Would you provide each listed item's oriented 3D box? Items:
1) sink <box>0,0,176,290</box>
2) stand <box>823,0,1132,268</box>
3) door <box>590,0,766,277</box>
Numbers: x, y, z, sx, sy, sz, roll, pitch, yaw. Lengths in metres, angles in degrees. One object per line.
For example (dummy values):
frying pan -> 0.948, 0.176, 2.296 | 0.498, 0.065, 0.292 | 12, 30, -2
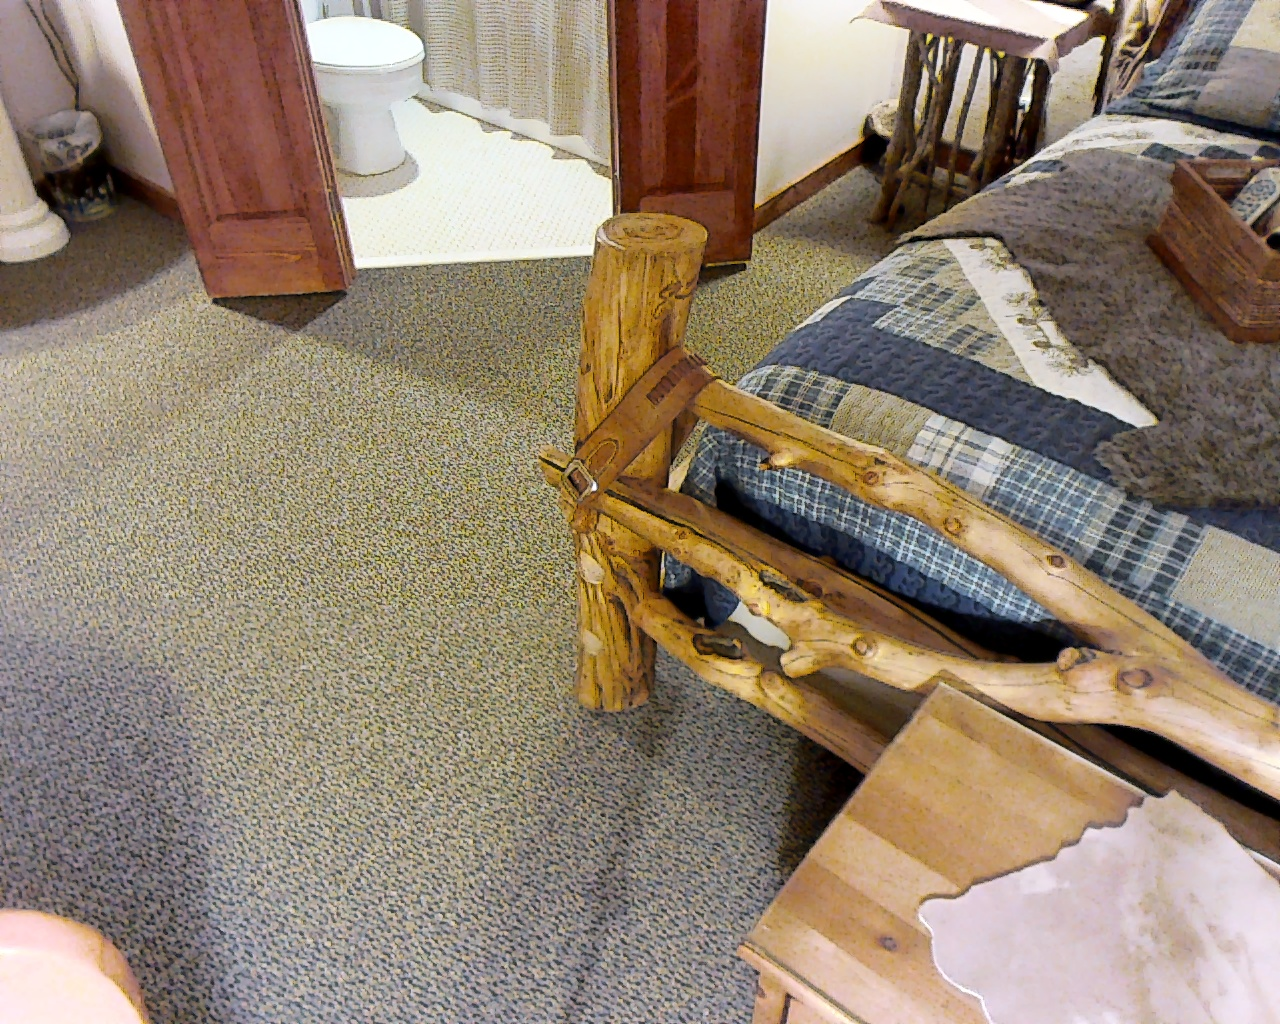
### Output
sink -> -1.830, -1.160, 2.970 | 0.480, 0.850, 0.650 | 29, 50, 28
stand -> 0.970, -1.200, 3.170 | 0.590, 0.630, 0.530 | 29, 50, 27
door -> 0.090, -1.480, 2.380 | 0.420, 2.110, 0.080 | -4, 43, -4
